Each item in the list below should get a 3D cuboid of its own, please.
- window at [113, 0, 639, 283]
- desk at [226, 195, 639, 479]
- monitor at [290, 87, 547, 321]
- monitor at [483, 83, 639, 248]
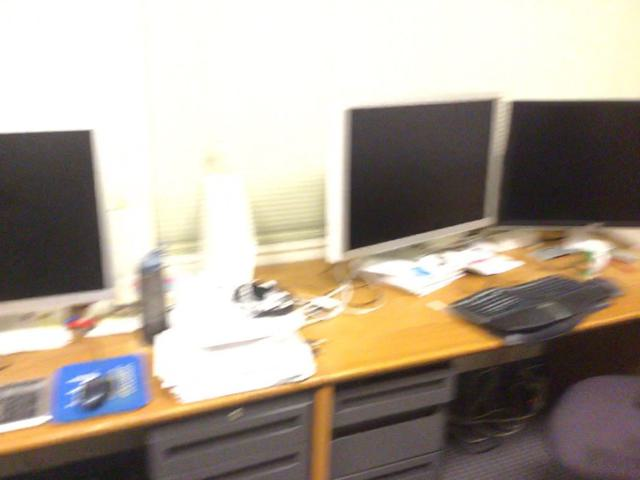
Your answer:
[{"bbox_3d":[0.410,-0.600,2.010,2.100,1.270,0.140,-6,19,-22],"label":"window"},{"bbox_3d":[0.540,0.380,1.900,1.500,0.800,0.820,-6,19,-22],"label":"desk"},{"bbox_3d":[0.310,-0.160,1.780,0.780,0.580,0.280,-11,21,-35],"label":"monitor"},{"bbox_3d":[0.960,-0.260,2.000,0.680,0.530,0.210,1,17,1],"label":"monitor"}]
